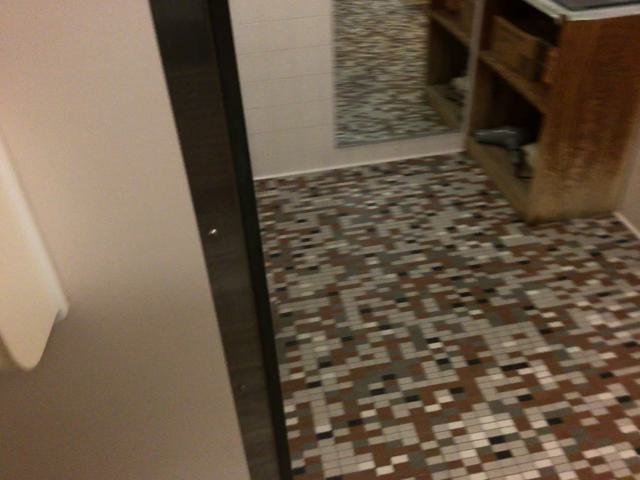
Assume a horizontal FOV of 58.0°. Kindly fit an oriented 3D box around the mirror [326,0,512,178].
[{"bbox_3d":[0.360,-0.890,2.120,0.660,1.330,0.160,-9,37,-5],"label":"mirror"}]
